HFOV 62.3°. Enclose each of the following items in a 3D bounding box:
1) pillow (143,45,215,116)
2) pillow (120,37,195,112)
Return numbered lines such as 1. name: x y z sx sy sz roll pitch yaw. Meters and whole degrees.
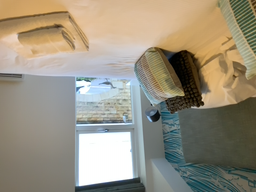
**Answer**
1. pillow: 0.350 -0.090 1.570 0.150 0.400 0.420 -24 178 -27
2. pillow: 0.180 -0.120 1.490 0.150 0.380 0.440 -32 -179 -27
